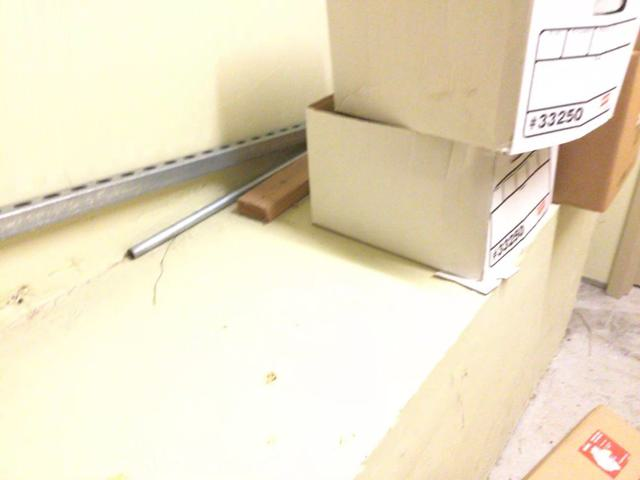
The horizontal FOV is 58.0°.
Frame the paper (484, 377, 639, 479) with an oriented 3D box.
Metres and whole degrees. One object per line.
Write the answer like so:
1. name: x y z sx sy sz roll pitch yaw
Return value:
1. paper: 0.720 0.600 1.330 0.540 0.080 0.470 -24 36 -29
